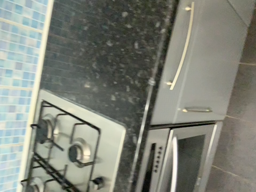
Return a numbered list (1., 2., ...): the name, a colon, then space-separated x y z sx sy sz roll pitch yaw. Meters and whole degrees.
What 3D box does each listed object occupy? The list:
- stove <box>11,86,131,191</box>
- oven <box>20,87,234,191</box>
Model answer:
1. stove: -0.270 0.300 0.780 0.560 0.030 0.570 17 98 39
2. oven: 0.050 0.340 1.130 0.610 0.900 0.580 17 98 39
